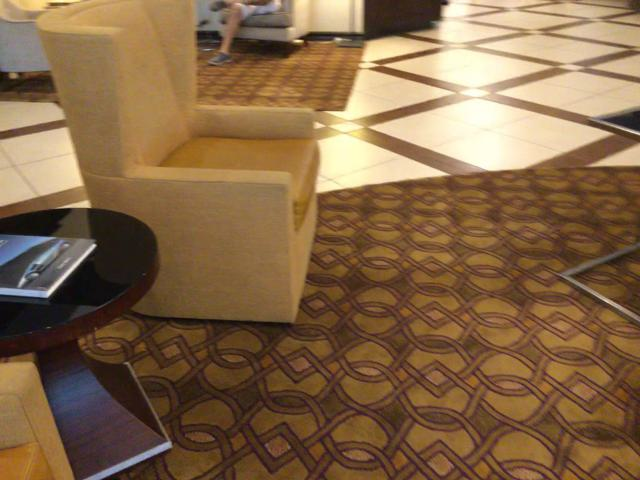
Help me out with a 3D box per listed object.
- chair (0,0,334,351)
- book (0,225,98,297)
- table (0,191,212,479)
[{"bbox_3d":[-0.460,-0.340,2.220,0.920,1.110,0.920,3,28,8],"label":"chair"},{"bbox_3d":[-0.760,0.040,1.400,0.340,0.040,0.240,4,28,10],"label":"book"},{"bbox_3d":[-0.720,0.310,1.530,0.630,0.670,0.620,3,28,8],"label":"table"}]
